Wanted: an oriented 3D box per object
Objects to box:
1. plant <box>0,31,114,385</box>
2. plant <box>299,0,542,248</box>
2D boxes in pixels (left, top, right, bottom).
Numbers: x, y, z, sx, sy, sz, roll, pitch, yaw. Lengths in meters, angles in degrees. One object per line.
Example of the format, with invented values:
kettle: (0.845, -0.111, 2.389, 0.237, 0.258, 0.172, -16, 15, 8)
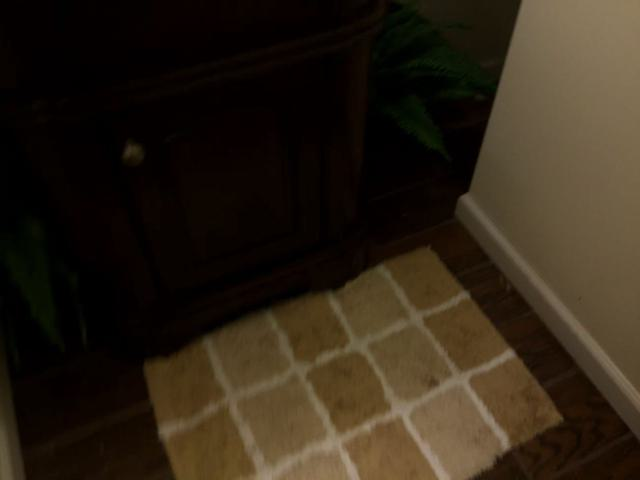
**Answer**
plant: (-0.630, -0.080, 1.130, 0.230, 0.350, 0.590, -20, 53, -17)
plant: (0.220, -0.330, 1.530, 0.390, 0.390, 0.470, -19, 53, -17)
